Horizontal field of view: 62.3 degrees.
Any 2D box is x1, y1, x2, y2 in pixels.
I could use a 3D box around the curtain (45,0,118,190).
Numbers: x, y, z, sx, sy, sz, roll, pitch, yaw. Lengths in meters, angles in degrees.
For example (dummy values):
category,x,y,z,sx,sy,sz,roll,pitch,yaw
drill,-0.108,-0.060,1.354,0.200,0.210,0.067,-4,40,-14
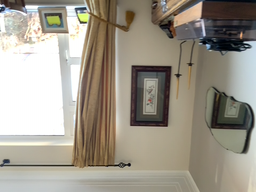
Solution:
category,x,y,z,sx,sy,sz,roll,pitch,yaw
curtain,-0.390,-0.380,2.000,0.560,2.620,0.380,0,-166,0
